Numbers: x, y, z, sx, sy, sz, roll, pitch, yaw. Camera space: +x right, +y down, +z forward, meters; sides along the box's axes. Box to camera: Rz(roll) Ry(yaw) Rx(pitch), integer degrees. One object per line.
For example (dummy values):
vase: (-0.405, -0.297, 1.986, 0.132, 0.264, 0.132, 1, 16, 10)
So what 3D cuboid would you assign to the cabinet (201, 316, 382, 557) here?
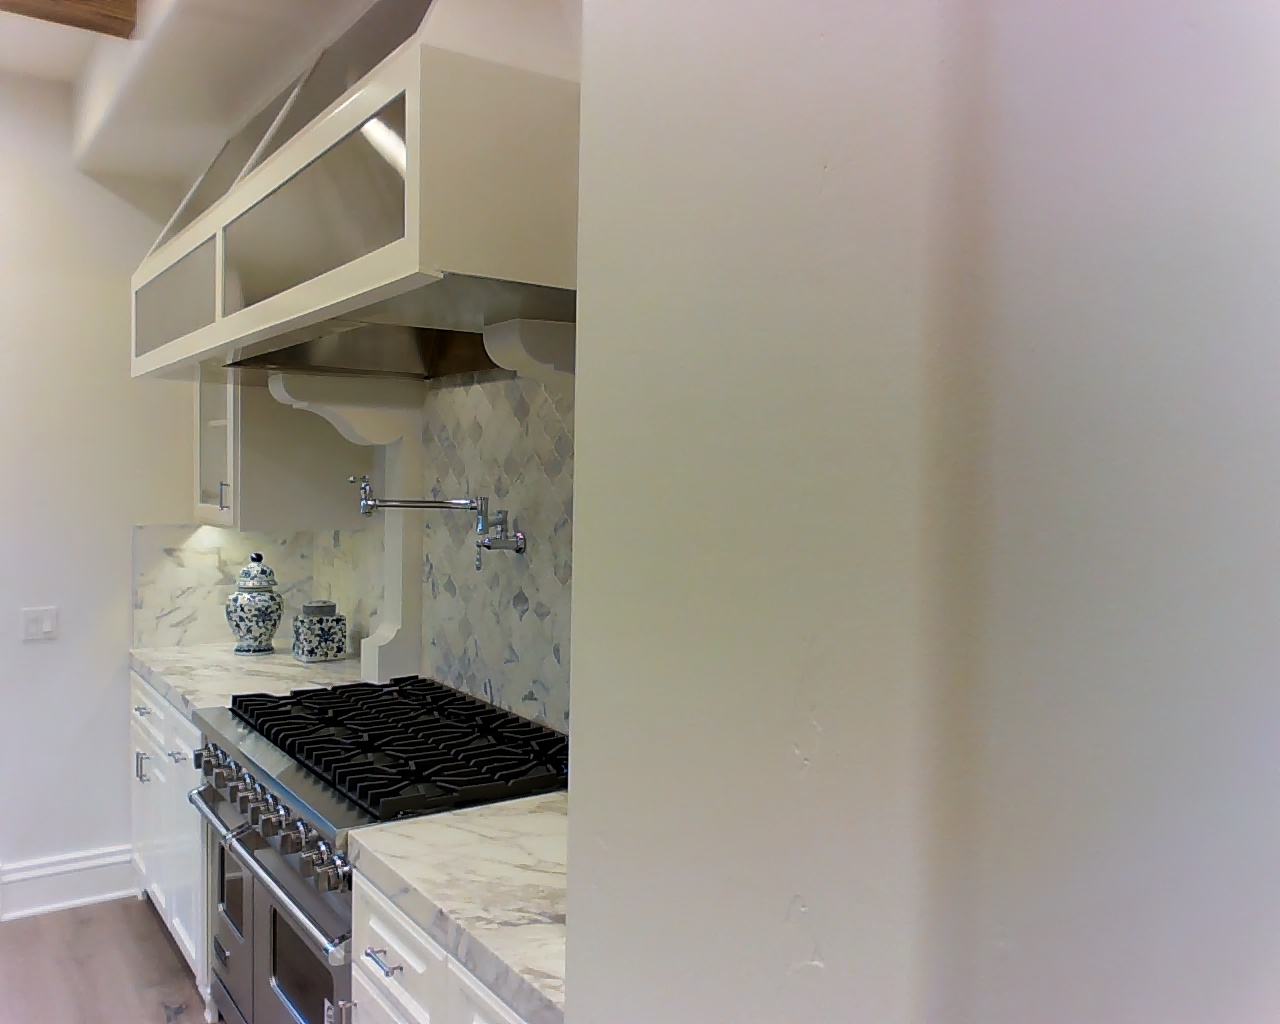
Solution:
cabinet: (-1.310, -0.260, 4.000, 0.480, 0.810, 0.620, 0, 1, -34)
